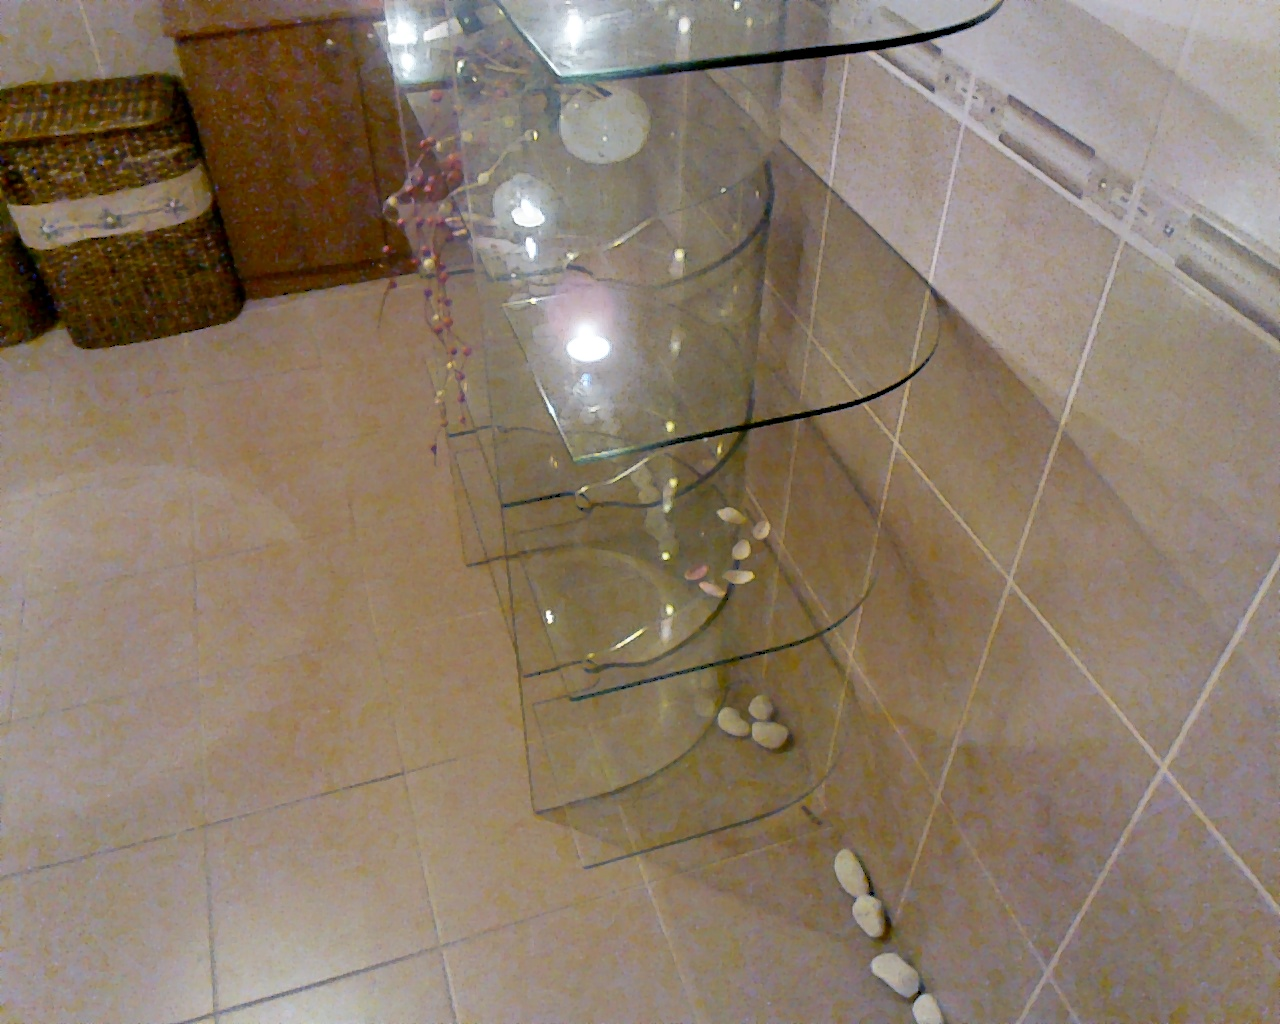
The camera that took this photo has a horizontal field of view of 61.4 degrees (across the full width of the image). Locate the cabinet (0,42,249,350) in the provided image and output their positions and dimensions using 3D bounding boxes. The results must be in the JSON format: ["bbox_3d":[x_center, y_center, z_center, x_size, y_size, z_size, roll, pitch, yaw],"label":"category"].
[{"bbox_3d":[-1.380,-0.840,2.860,0.490,0.600,0.430,-13,44,-14],"label":"cabinet"}]
